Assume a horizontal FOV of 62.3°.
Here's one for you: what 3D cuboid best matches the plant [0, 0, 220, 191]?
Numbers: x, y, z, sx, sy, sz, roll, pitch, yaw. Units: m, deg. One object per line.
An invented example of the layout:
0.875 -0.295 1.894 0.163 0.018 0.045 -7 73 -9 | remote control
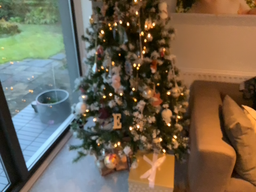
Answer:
-0.030 -0.410 1.760 1.190 1.990 1.280 7 28 13 | plant
